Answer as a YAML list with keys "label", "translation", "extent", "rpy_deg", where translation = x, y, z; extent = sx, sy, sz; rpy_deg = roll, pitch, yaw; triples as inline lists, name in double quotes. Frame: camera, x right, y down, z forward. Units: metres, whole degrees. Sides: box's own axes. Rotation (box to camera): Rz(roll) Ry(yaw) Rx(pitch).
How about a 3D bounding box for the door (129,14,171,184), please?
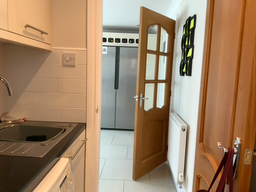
- label: "door"
  translation: [0.290, 0.060, 2.680]
  extent: [0.070, 1.940, 0.670]
  rpy_deg: [8, 9, 37]
